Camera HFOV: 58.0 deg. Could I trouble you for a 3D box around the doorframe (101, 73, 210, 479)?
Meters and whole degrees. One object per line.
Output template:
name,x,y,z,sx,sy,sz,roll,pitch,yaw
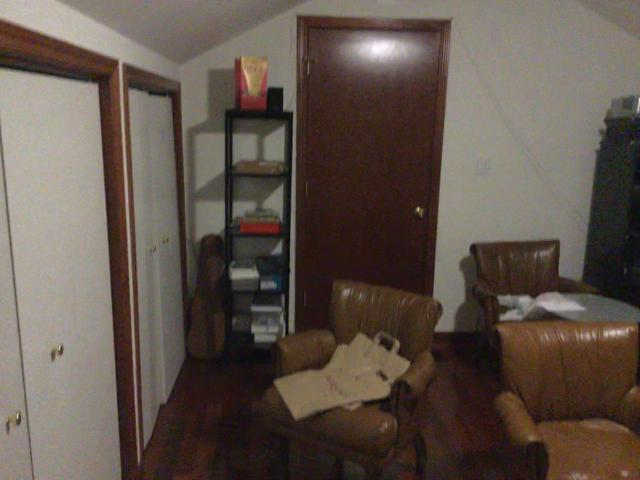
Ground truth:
doorframe,-0.750,0.160,2.890,0.090,1.820,1.200,-1,11,0
